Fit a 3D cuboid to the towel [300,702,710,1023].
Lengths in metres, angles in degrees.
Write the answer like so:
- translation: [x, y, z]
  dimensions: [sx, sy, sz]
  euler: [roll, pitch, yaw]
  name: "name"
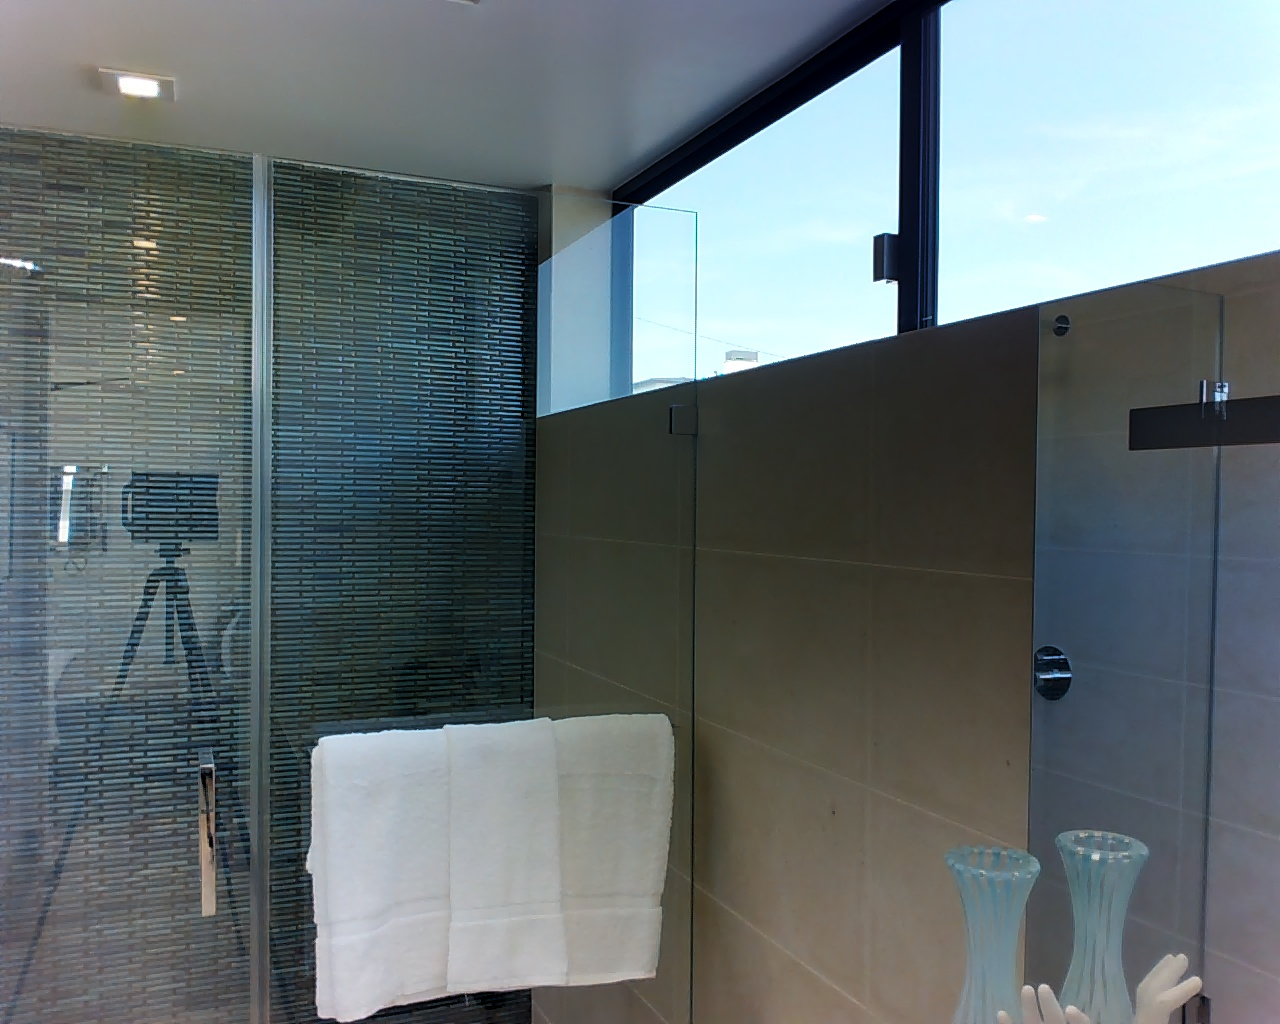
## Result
- translation: [-0.210, 0.560, 1.730]
  dimensions: [0.620, 0.440, 0.190]
  euler: [0, 0, -24]
  name: "towel"
